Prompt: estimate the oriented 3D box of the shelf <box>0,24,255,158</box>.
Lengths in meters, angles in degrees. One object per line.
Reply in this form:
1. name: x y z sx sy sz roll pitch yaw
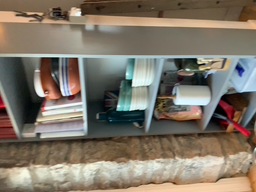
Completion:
1. shelf: -0.070 -0.010 1.380 0.320 2.140 0.750 -103 15 -53
